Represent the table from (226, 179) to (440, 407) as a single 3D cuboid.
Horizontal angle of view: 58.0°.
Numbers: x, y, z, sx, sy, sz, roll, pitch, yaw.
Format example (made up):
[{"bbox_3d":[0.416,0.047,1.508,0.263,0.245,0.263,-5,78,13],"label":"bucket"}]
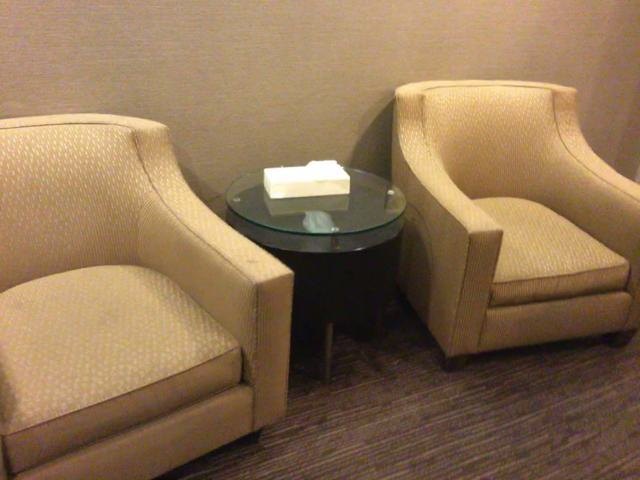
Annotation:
[{"bbox_3d":[0.030,0.150,1.970,0.570,0.550,0.390,-11,27,-25],"label":"table"}]
